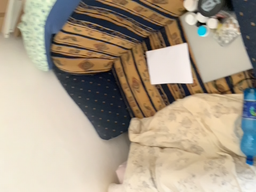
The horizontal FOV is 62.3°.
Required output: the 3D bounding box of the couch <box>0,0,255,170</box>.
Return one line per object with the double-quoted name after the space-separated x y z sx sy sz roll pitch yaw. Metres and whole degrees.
0.100 -0.290 1.220 1.410 1.020 0.970 -24 87 48 "couch"
